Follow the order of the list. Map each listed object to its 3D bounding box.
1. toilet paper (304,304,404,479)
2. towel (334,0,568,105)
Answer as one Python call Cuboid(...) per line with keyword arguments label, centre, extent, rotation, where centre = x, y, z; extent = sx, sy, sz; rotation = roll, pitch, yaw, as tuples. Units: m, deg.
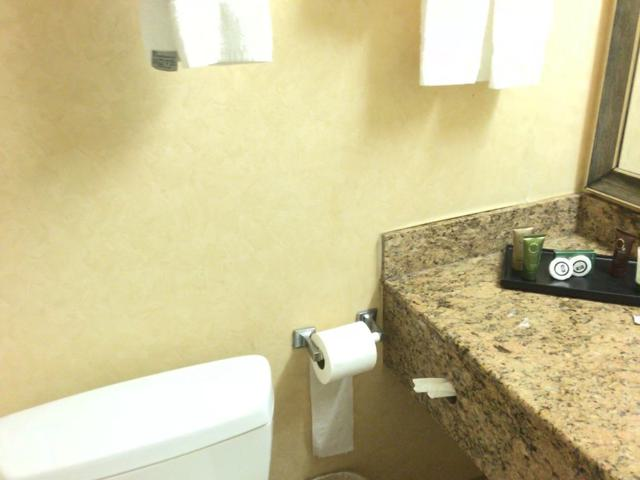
Cuboid(label="toilet paper", centre=(0.070, 0.360, 1.270), extent=(0.170, 0.400, 0.120), rotation=(-11, 25, -22))
Cuboid(label="towel", centre=(0.240, -0.440, 1.030), extent=(0.420, 0.340, 0.120), rotation=(-11, 25, -22))
